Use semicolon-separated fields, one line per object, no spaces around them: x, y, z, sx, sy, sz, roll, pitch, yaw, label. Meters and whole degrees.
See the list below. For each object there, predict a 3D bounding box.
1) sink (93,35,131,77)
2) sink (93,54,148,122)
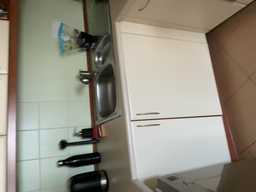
-0.130;-0.280;1.560;0.340;0.150;0.170;150;116;-61;sink
-0.080;-0.030;1.530;0.470;0.200;0.360;150;116;-61;sink
